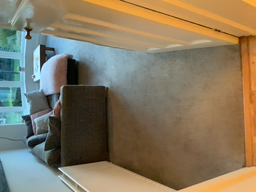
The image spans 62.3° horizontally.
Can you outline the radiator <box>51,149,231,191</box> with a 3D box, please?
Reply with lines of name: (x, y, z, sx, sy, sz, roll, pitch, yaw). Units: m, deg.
radiator: (-0.080, 0.760, 2.000, 1.730, 0.780, 0.160, -5, 85, 54)
